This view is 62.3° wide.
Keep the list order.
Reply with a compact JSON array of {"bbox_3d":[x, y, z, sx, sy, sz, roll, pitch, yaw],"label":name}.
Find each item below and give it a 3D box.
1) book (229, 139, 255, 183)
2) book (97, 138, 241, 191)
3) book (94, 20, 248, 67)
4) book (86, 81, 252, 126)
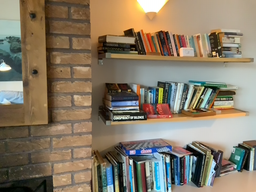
[{"bbox_3d":[1.250,0.580,1.980,0.460,0.260,0.300,-1,8,-16],"label":"book"},{"bbox_3d":[0.350,0.570,1.730,1.180,0.300,0.210,-2,8,-17],"label":"book"},{"bbox_3d":[0.380,-0.390,1.700,1.270,0.290,0.160,-2,8,-17],"label":"book"},{"bbox_3d":[0.360,0.030,1.750,1.370,0.290,0.240,-1,8,-16],"label":"book"}]
